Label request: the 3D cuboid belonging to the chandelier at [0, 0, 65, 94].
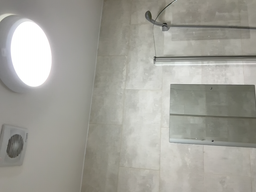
[{"bbox_3d":[-0.400,-0.190,0.910,0.310,0.090,0.320,37,55,-77],"label":"chandelier"}]
